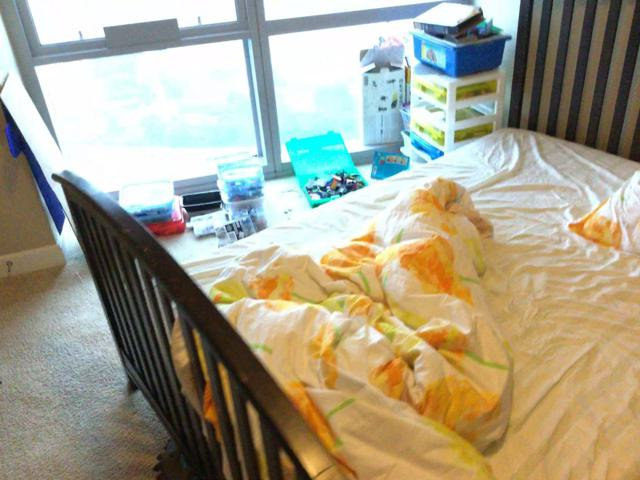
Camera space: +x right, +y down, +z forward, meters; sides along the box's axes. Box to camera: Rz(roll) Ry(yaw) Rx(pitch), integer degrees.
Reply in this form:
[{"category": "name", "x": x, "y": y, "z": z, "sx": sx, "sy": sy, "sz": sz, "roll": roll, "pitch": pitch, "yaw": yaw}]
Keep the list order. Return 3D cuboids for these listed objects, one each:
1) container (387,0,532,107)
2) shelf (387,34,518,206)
[{"category": "container", "x": 0.610, "y": -0.880, "z": 2.610, "sx": 0.410, "sy": 0.360, "sz": 0.460, "roll": -22, "pitch": 36, "yaw": -27}, {"category": "shelf", "x": 0.600, "y": -0.580, "z": 2.740, "sx": 0.370, "sy": 0.640, "sz": 0.430, "roll": -22, "pitch": 36, "yaw": -27}]
